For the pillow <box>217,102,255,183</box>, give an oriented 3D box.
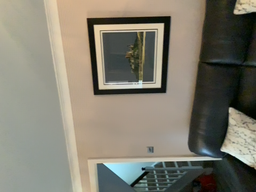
[{"bbox_3d":[1.010,0.390,1.880,0.450,0.200,0.520,-96,1,-69],"label":"pillow"}]
